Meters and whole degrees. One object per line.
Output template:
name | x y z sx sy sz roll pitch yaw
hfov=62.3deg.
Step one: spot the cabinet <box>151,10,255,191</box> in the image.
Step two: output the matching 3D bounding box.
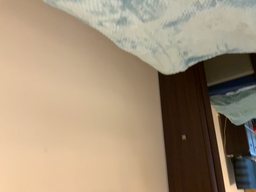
cabinet | 1.160 0.350 2.110 1.590 2.080 0.690 -17 156 36
